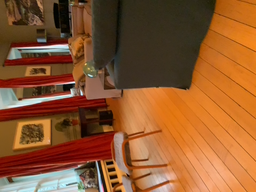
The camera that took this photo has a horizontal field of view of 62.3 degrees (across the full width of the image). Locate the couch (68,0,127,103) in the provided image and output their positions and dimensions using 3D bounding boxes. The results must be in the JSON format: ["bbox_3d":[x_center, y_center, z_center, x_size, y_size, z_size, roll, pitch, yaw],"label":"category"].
[{"bbox_3d":[-0.820,-1.180,4.590,2.800,0.710,1.210,-118,29,-52],"label":"couch"}]
